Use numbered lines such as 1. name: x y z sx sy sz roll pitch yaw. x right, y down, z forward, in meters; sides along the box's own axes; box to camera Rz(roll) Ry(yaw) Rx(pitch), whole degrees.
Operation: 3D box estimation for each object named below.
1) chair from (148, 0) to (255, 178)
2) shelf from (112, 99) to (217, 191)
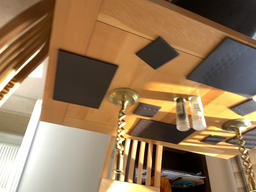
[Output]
1. chair: 0.410 -0.330 0.790 0.440 1.040 0.640 11 144 -13
2. shelf: 0.350 0.970 2.030 0.950 1.780 0.380 13 143 -16
